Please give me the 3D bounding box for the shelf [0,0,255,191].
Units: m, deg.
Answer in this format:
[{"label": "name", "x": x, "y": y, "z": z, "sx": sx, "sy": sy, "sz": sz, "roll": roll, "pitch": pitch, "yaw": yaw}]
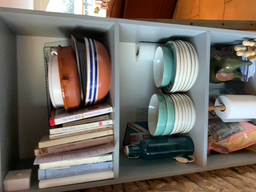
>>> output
[{"label": "shelf", "x": 0.100, "y": 0.020, "z": 1.110, "sx": 0.370, "sy": 2.170, "sz": 0.740, "roll": -165, "pitch": 76, "yaw": -71}]
